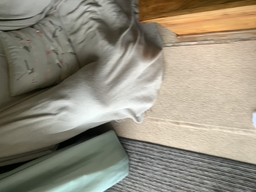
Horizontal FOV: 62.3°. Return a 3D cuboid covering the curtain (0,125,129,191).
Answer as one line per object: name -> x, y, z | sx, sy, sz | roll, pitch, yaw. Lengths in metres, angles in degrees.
curtain -> -0.650, 0.380, 0.530 | 0.230, 2.170, 0.170 | -22, 82, 29
